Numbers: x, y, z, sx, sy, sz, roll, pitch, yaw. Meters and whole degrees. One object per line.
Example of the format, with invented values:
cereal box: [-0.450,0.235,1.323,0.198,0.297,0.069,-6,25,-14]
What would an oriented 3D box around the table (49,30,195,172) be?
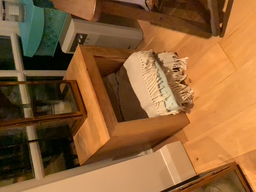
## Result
table: [-0.080,0.040,1.180,0.510,0.500,0.520,-44,59,47]
